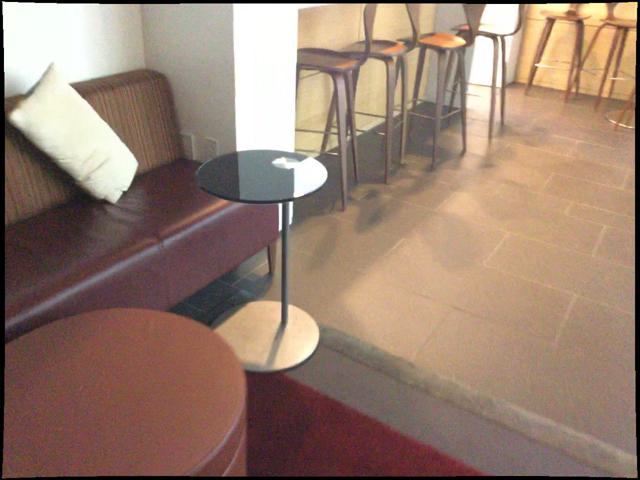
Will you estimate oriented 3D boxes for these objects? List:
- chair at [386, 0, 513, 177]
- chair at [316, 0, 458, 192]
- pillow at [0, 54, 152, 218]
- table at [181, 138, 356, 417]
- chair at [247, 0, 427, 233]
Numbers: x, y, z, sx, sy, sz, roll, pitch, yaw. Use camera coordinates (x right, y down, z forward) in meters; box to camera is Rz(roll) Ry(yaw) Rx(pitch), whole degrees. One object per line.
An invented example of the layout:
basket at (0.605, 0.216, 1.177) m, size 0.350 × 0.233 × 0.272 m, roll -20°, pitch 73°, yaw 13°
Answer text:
chair at (0.818, -1.073, 3.660) m, size 0.459 × 1.122 × 0.600 m, roll 21°, pitch 36°, yaw 27°
chair at (0.379, -0.973, 3.380) m, size 0.549 × 1.152 × 0.560 m, roll 21°, pitch 36°, yaw 27°
pillow at (-0.858, -0.351, 2.010) m, size 0.290 × 0.451 × 0.290 m, roll 21°, pitch 5°, yaw 27°
table at (-0.160, 0.120, 1.910) m, size 0.369 × 0.761 × 0.370 m, roll 21°, pitch 36°, yaw 27°
chair at (0.090, -0.762, 3.080) m, size 0.559 × 1.112 × 0.780 m, roll 21°, pitch 36°, yaw 27°
